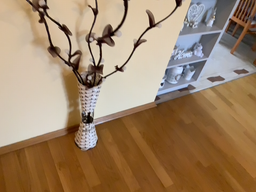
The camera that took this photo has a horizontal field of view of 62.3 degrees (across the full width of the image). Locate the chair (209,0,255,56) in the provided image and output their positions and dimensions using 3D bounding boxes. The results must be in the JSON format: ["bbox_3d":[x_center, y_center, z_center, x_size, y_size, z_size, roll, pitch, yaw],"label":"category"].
[{"bbox_3d":[1.570,-1.070,2.750,0.460,0.910,0.470,-16,50,-29],"label":"chair"}]

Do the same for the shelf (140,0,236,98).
[{"bbox_3d":[0.490,-0.520,1.690,0.550,1.170,0.170,-16,50,-28],"label":"shelf"}]
